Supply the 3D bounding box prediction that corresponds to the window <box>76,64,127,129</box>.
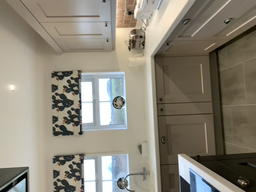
[{"bbox_3d":[-0.430,0.000,3.420,0.090,0.770,1.000,165,103,-85],"label":"window"}]
